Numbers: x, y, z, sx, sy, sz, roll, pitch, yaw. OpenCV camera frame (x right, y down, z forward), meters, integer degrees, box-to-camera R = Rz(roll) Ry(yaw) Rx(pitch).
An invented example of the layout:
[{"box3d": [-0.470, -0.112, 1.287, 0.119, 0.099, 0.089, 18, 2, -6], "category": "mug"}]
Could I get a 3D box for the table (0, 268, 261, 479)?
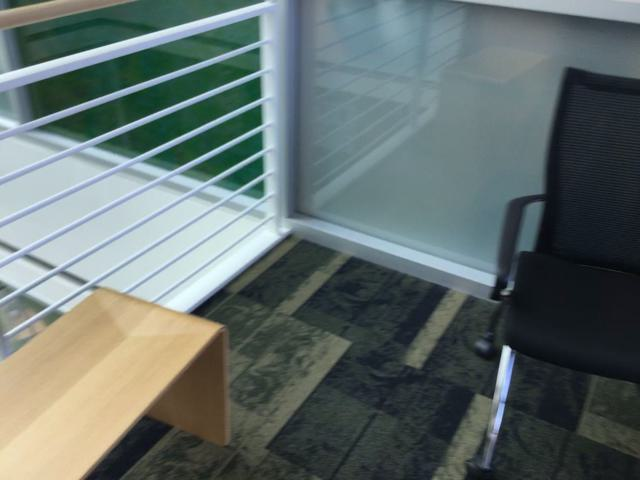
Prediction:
[{"box3d": [-0.510, 0.470, 1.280, 0.410, 0.470, 0.690, 12, 32, 25], "category": "table"}]
